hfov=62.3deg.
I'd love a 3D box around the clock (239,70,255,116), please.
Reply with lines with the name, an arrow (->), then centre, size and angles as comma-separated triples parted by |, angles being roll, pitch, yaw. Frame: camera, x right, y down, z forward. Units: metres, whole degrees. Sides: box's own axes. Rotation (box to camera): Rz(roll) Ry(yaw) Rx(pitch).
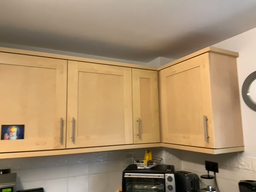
clock -> 0.980, -0.030, 1.560 | 0.020, 0.340, 0.310 | 3, -8, -28
